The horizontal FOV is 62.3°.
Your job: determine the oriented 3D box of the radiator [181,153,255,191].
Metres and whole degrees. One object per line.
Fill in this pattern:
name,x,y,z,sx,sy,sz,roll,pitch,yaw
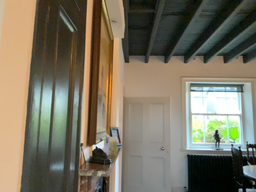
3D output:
radiator,1.730,1.460,4.020,1.390,0.700,0.160,1,-7,-2
